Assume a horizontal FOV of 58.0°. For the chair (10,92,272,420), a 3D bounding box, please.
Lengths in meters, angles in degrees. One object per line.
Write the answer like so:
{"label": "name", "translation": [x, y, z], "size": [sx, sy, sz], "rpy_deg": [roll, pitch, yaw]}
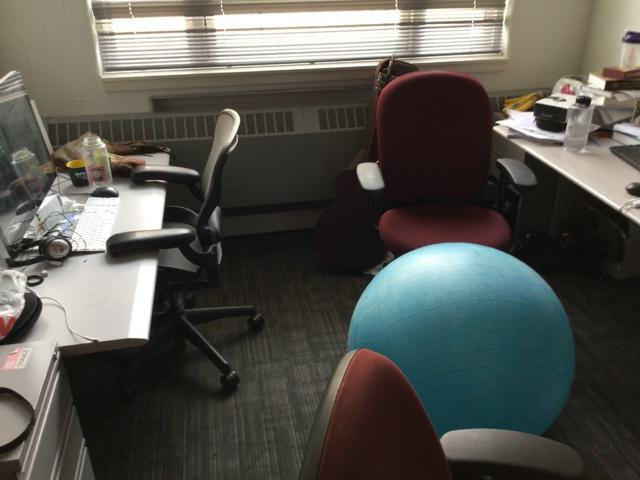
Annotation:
{"label": "chair", "translation": [-0.580, 0.020, 2.140], "size": [0.690, 0.950, 0.670], "rpy_deg": [-5, 28, -11]}

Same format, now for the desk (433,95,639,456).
{"label": "desk", "translation": [1.270, 0.010, 2.440], "size": [0.780, 0.730, 2.030], "rpy_deg": [-5, 28, -11]}

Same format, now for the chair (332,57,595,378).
{"label": "chair", "translation": [0.470, -0.120, 2.310], "size": [0.680, 1.050, 0.660], "rpy_deg": [-5, 28, -11]}

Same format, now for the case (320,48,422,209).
{"label": "case", "translation": [0.240, -0.560, 2.930], "size": [0.440, 0.760, 0.190], "rpy_deg": [-5, 28, -11]}
